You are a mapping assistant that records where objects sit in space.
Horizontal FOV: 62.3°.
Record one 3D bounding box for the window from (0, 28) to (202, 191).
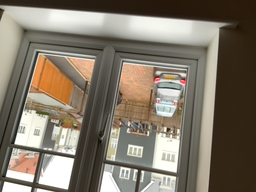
[{"bbox_3d":[-0.190,0.210,1.210,1.080,1.180,0.080,8,167,7],"label":"window"}]
